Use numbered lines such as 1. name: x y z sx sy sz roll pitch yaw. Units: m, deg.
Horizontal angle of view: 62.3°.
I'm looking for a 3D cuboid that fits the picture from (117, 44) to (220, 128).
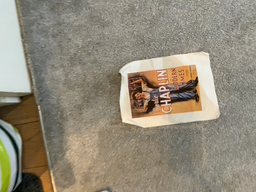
1. picture: 0.120 -0.030 0.650 0.290 0.020 0.230 -5 89 2
